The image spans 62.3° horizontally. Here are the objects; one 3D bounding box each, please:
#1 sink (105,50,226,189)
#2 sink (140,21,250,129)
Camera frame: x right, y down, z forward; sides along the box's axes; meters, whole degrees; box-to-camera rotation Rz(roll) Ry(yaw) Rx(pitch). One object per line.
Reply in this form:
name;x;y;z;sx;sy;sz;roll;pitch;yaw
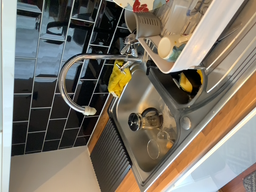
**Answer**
sink;0.120;0.100;1.020;0.480;0.200;0.410;61;138;36
sink;0.220;-0.090;0.800;0.370;0.140;0.190;61;138;36
